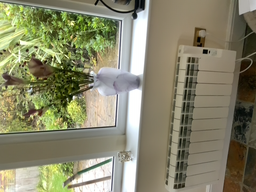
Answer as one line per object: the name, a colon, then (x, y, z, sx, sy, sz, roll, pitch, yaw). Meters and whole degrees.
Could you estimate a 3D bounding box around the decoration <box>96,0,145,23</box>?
decoration: (-0.050, -0.590, 1.350, 0.200, 0.240, 0.200, -150, 63, -61)
